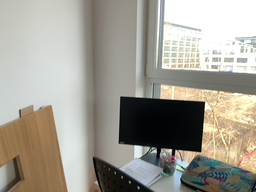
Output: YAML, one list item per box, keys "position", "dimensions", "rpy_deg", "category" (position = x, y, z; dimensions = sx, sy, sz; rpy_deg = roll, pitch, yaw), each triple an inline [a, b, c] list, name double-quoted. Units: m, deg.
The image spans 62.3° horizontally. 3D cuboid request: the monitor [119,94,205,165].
- position: [0.210, 0.220, 1.420]
  dimensions: [0.530, 0.420, 0.040]
  rpy_deg: [5, 9, 10]
  category: "monitor"
